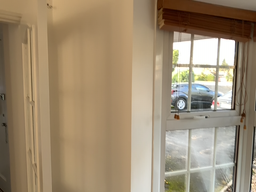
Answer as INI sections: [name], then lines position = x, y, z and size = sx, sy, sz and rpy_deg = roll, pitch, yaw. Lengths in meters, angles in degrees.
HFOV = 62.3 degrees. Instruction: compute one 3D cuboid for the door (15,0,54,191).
[door]
position = -0.560, 0.530, 1.250
size = 0.050, 2.030, 0.880
rpy_deg = -3, 7, -31
